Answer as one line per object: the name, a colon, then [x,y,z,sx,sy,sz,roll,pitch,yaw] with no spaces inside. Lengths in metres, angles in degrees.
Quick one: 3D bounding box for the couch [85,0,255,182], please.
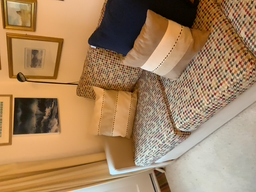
couch: [0.370,-0.400,1.490,2.270,0.650,1.180,-58,42,46]
